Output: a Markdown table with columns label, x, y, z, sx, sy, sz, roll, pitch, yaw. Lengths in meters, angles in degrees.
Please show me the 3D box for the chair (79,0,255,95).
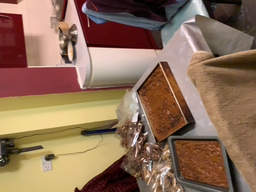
| label | x | y | z | sx | sy | sz | roll | pitch | yaw |
| --- | --- | --- | --- | --- | --- | --- | --- | --- | --- |
| chair | 0.280 | -0.380 | 1.380 | 0.470 | 1.010 | 0.560 | -34 | 65 | 58 |
